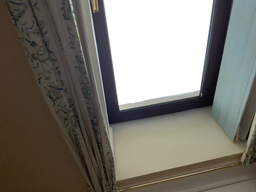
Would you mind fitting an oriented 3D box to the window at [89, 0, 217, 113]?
[{"bbox_3d":[0.150,-0.650,1.300,0.770,1.620,0.210,-12,-142,-8],"label":"window"}]

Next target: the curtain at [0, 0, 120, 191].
[{"bbox_3d":[-0.250,-0.250,0.610,0.240,2.120,0.130,-11,-142,-7],"label":"curtain"}]
